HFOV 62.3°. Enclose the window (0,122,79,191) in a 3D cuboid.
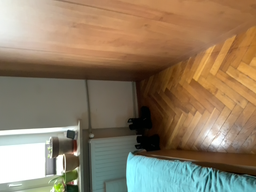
[{"bbox_3d":[-1.430,0.940,2.000,0.200,1.890,1.300,-21,70,61],"label":"window"}]
